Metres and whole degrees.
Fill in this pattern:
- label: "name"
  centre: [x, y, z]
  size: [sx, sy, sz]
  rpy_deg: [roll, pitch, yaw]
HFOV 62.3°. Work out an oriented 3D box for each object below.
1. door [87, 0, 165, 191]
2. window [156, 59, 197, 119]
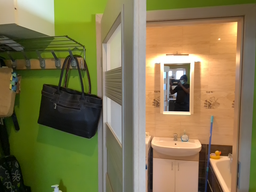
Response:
- label: "door"
  centre: [-0.100, 0.620, 1.080]
  size: [0.110, 2.080, 1.040]
  rpy_deg: [-1, 5, -15]
- label: "window"
  centre: [0.680, -0.110, 3.040]
  size: [0.530, 0.820, 0.220]
  rpy_deg: [1, 5, 8]
